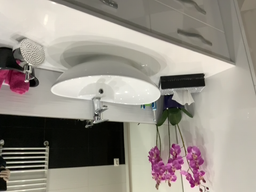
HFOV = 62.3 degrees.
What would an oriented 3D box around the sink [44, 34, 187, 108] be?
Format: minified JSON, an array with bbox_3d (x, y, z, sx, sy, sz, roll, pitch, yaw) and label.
[{"bbox_3d":[-0.060,-0.080,1.120,0.640,0.150,0.370,9,160,-32],"label":"sink"}]

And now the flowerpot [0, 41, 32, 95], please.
[{"bbox_3d":[-0.530,-0.120,0.940,0.160,0.180,0.140,7,161,-28],"label":"flowerpot"}]
